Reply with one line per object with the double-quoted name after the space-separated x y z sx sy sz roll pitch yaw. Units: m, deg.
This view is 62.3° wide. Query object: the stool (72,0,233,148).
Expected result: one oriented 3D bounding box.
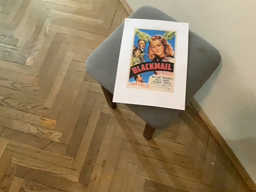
0.080 -0.060 0.890 0.360 0.480 0.350 40 76 13 "stool"
